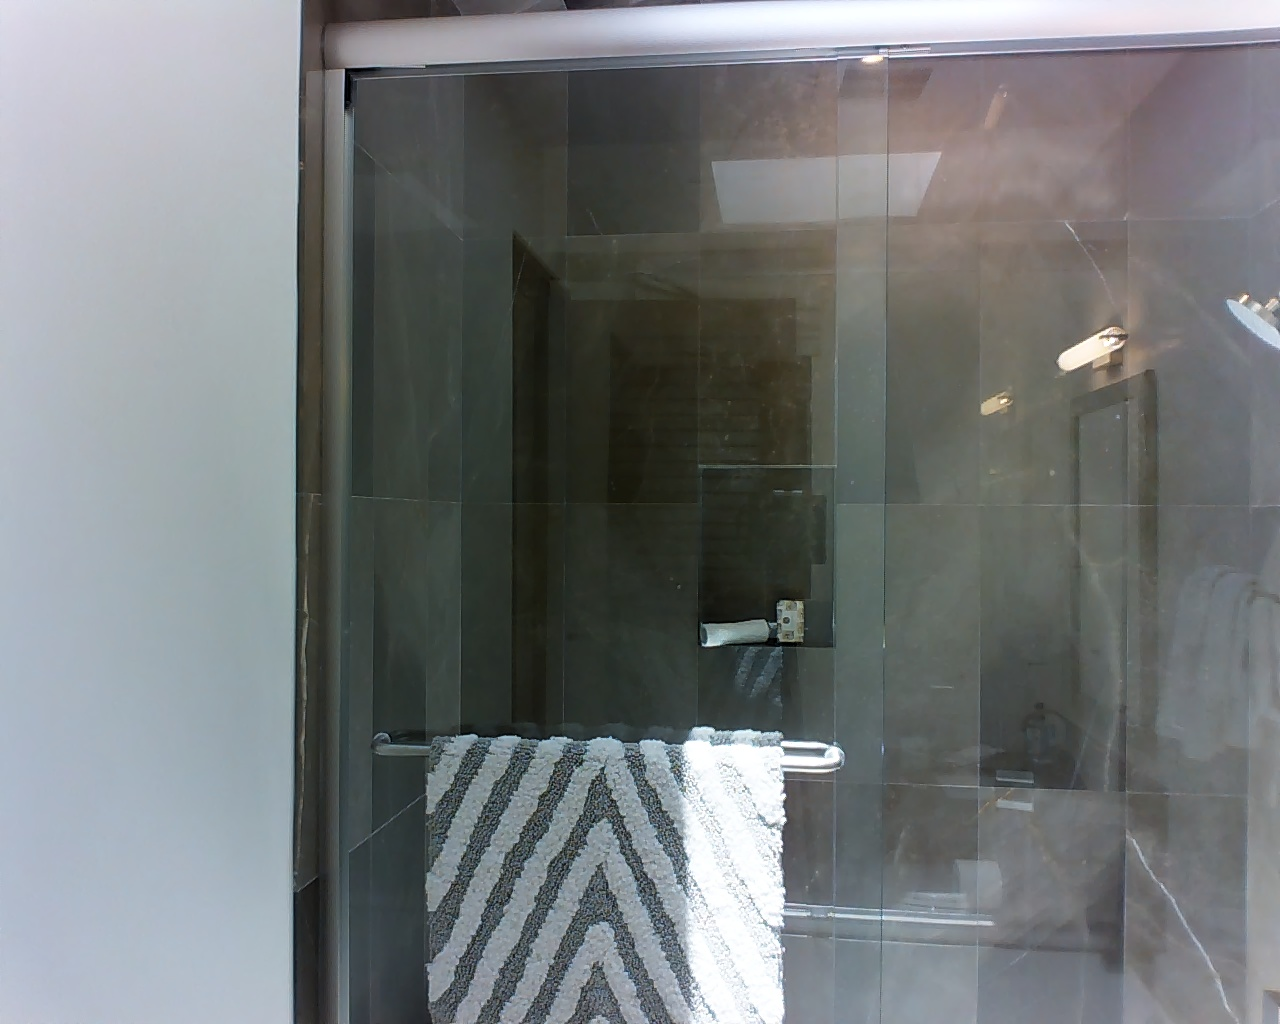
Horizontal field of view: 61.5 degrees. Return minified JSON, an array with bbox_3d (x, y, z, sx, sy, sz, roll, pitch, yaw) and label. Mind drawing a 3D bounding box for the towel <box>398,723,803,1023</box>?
[{"bbox_3d":[-0.060,0.570,1.620,0.600,0.470,0.080,0,-1,7],"label":"towel"}]
